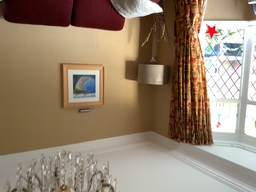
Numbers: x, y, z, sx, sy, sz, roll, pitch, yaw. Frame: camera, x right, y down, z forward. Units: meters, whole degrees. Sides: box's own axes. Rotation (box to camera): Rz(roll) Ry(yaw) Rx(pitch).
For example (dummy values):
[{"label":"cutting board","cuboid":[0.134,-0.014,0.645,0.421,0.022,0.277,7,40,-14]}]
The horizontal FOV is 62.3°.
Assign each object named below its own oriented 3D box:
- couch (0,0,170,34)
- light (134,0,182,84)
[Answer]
[{"label":"couch","cuboid":[-0.560,-1.380,2.510,1.900,0.970,1.000,-3,-171,-28]},{"label":"light","cuboid":[0.460,-1.090,3.340,0.510,1.760,0.530,-2,-171,-25]}]
